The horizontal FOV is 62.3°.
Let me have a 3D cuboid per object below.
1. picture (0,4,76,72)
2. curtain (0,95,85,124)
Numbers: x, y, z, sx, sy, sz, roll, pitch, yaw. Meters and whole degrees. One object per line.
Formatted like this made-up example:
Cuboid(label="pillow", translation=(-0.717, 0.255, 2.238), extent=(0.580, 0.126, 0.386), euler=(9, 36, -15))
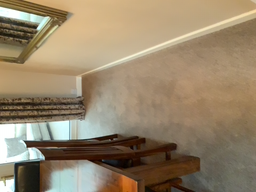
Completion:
Cuboid(label="picture", translation=(-1.510, -0.450, 1.850), extent=(1.900, 1.430, 0.050), euler=(-7, 84, 53))
Cuboid(label="curtain", translation=(-1.570, 0.170, 2.680), extent=(0.110, 2.160, 0.350), euler=(-10, 81, 53))
